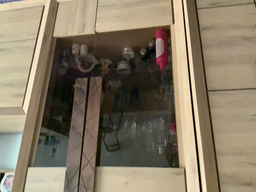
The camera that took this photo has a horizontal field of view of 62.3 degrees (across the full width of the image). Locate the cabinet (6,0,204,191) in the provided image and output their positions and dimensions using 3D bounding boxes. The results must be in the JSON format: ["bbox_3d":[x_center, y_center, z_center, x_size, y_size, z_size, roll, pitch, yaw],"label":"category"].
[{"bbox_3d":[-0.090,0.190,1.320,0.920,1.940,0.490,-2,158,8],"label":"cabinet"}]
